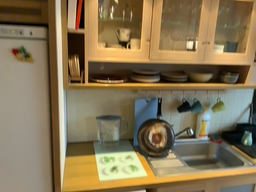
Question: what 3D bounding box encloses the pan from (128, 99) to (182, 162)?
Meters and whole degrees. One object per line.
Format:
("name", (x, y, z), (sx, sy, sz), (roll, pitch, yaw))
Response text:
("pan", (0.190, 0.250, 1.680), (0.300, 0.380, 0.330), (-1, 14, -14))
